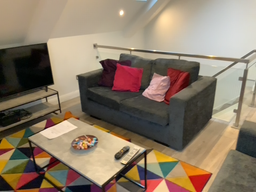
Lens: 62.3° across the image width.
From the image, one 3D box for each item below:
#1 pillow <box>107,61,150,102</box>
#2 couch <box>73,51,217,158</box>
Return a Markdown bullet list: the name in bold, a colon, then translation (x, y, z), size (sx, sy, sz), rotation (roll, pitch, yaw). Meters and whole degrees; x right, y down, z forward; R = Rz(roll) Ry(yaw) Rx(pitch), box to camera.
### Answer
- **pillow**: translation (0.010, -0.210, 3.120), size (0.420, 0.430, 0.220), rotation (-33, -5, 21)
- **couch**: translation (0.180, -0.060, 2.970), size (1.650, 0.840, 0.980), rotation (17, 28, 39)
